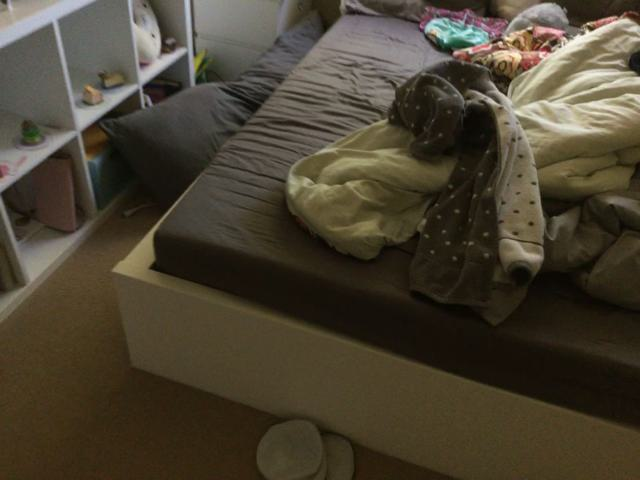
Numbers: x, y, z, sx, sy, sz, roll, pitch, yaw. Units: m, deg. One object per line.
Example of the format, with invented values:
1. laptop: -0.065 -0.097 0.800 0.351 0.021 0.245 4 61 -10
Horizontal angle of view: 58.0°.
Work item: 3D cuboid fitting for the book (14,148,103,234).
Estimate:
1. book: -0.830 -0.150 1.860 0.110 0.300 0.100 15 63 13
